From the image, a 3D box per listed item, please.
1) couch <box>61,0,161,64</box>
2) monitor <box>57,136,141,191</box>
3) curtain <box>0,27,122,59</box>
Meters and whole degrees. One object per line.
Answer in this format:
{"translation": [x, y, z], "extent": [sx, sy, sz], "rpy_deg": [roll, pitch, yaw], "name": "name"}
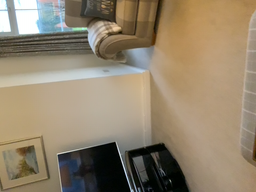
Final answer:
{"translation": [-0.270, -1.150, 2.500], "extent": [1.030, 0.920, 1.090], "rpy_deg": [-118, 28, -46], "name": "couch"}
{"translation": [-0.260, 1.080, 2.260], "extent": [0.090, 0.800, 1.280], "rpy_deg": [105, 151, -49], "name": "monitor"}
{"translation": [-1.220, -0.860, 3.420], "extent": [0.170, 2.280, 0.400], "rpy_deg": [-150, 54, -67], "name": "curtain"}
